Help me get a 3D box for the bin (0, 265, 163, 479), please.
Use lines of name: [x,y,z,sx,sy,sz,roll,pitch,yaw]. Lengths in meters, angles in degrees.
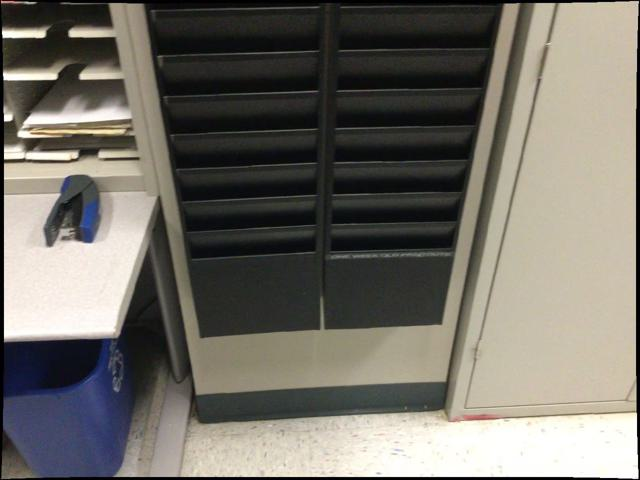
bin: [-0.589,0.331,1.360,0.289,0.391,0.380,0,37,0]
